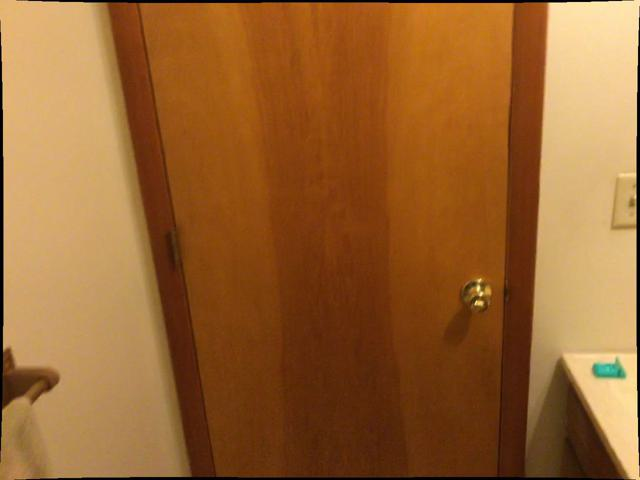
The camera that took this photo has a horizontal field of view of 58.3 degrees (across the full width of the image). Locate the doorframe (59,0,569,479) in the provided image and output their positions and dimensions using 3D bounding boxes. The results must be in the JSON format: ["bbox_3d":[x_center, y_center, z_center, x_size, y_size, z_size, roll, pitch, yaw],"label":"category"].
[{"bbox_3d":[0.000,0.060,1.350,0.999,1.861,0.110,-1,19,8],"label":"doorframe"}]

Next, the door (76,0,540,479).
[{"bbox_3d":[-0.010,0.050,1.360,0.929,1.891,0.080,-1,19,8],"label":"door"}]
